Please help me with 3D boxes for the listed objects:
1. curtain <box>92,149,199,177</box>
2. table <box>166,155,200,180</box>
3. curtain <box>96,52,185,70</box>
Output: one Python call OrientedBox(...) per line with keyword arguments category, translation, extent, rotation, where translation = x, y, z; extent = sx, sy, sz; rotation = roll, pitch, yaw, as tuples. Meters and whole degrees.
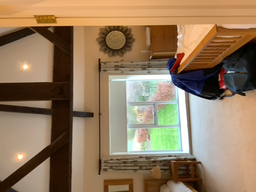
OrientedBox(category="curtain", translation=(0.350, 1.380, 4.400), extent=(0.320, 2.120, 0.420), rotation=(103, 165, -79))
OrientedBox(category="table", translation=(1.080, 1.420, 4.240), extent=(0.440, 0.540, 0.370), rotation=(106, 162, -81))
OrientedBox(category="curtain", translation=(0.280, -0.800, 4.830), extent=(0.130, 2.010, 0.330), rotation=(104, 164, -80))
